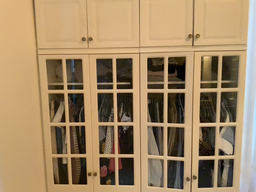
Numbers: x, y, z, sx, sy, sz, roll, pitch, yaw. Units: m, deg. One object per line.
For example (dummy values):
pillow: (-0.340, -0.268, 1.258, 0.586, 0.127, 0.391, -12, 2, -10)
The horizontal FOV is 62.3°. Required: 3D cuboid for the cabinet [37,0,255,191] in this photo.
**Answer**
cabinet: (0.140, 0.270, 1.860, 1.530, 2.190, 0.500, 0, 8, 3)
